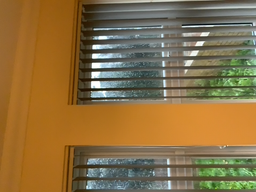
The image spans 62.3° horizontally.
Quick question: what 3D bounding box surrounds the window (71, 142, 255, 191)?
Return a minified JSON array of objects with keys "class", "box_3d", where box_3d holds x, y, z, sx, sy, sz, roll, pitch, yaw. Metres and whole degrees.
[{"class":"window","box_3d":[0.450,0.760,1.520,0.080,1.720,0.830,81,-171,-74]}]
